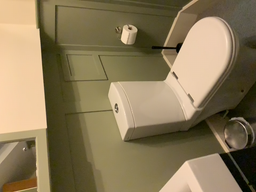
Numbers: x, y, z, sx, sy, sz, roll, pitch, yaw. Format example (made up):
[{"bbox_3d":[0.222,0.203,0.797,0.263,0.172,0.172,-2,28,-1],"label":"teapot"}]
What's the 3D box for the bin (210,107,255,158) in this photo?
[{"bbox_3d":[0.700,0.210,1.260,0.220,0.270,0.180,111,147,-45],"label":"bin"}]
